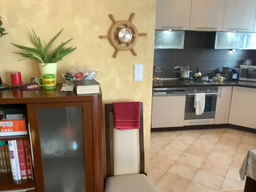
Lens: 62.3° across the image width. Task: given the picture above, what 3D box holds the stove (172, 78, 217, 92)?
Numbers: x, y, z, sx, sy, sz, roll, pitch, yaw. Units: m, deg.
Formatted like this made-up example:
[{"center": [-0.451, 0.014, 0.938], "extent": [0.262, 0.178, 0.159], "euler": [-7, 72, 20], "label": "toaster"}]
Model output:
[{"center": [1.220, -0.220, 3.970], "extent": [0.600, 0.150, 0.550], "euler": [-1, 14, -10], "label": "stove"}]
